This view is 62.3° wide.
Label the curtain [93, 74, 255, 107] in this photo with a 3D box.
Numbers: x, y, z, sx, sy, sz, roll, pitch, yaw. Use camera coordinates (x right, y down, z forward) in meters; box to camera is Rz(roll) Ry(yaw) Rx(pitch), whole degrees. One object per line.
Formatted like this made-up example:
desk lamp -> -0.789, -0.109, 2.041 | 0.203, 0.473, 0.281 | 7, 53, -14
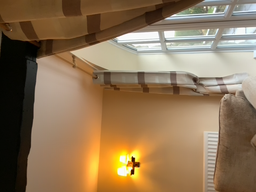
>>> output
curtain -> 0.750, -0.070, 2.870 | 0.760, 2.280, 0.250 | 39, -126, -74
